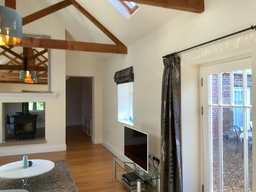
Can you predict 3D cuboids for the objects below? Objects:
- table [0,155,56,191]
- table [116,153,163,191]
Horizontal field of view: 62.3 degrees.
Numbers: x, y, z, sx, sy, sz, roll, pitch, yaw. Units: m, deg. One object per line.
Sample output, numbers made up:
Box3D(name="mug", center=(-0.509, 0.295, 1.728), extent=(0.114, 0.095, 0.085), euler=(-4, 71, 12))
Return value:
Box3D(name="table", center=(-1.680, 1.320, 3.520), extent=(0.860, 0.370, 0.860), euler=(-1, 0, -22))
Box3D(name="table", center=(0.150, 1.250, 3.490), extent=(0.430, 0.340, 0.910), euler=(-1, 0, -21))
